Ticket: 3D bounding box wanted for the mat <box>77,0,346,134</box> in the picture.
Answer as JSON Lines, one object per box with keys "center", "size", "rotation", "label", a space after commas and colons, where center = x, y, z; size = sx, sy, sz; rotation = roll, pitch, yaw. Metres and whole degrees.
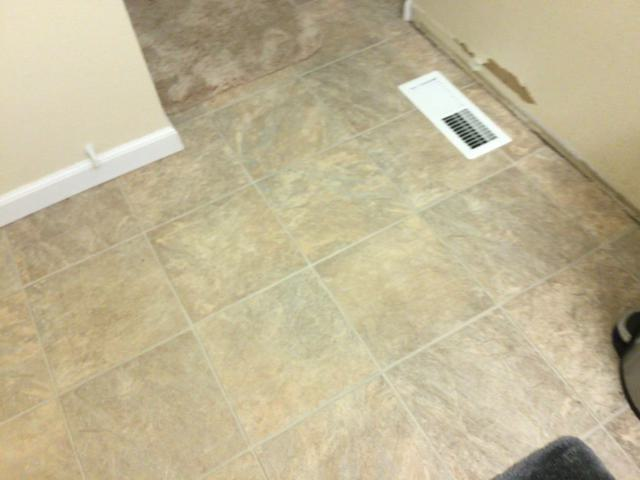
{"center": [-0.440, -0.800, 1.960], "size": [0.660, 0.050, 0.970], "rotation": [-25, 58, -13], "label": "mat"}
